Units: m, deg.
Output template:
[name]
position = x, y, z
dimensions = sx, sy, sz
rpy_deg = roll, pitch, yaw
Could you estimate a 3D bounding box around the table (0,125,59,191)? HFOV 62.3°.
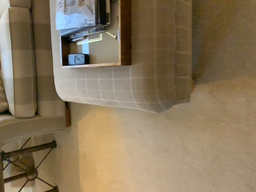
[table]
position = -1.140, 0.700, 2.070
dimensions = 0.710, 0.610, 0.630
rpy_deg = 5, 98, 45
